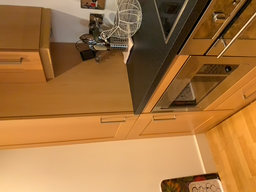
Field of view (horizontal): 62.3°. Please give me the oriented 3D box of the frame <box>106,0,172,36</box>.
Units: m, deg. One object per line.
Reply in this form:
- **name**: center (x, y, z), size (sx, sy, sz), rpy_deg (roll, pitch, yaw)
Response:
- **frame**: center (0.050, -0.510, 1.240), size (0.220, 0.310, 0.200), rpy_deg (111, 153, -57)
